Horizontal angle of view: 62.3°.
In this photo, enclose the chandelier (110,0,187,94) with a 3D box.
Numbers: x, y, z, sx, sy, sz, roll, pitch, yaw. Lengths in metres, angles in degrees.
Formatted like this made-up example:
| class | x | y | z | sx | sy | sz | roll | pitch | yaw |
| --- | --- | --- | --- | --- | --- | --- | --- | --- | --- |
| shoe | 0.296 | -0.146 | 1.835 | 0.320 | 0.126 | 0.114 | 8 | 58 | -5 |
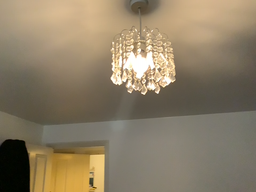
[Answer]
| class | x | y | z | sx | sy | sz | roll | pitch | yaw |
| --- | --- | --- | --- | --- | --- | --- | --- | --- | --- |
| chandelier | 0.070 | -0.220 | 0.940 | 0.270 | 0.340 | 0.270 | -2 | 160 | 0 |
